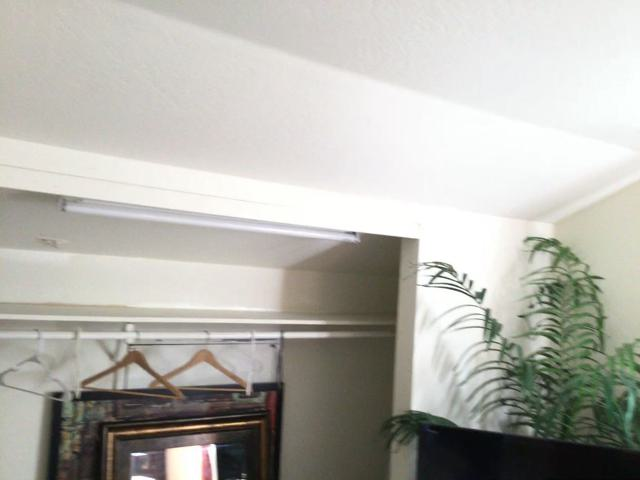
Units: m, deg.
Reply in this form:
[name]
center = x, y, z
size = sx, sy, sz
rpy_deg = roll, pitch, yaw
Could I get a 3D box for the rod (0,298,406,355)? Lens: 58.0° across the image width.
[rod]
center = -0.500, 0.360, 2.570
size = 2.070, 0.180, 0.380
rpy_deg = 4, -9, -36
